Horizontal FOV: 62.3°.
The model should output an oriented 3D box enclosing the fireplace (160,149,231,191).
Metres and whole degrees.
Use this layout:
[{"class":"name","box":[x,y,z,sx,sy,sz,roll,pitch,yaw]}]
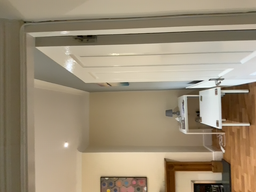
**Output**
[{"class":"fireplace","box":[1.230,1.830,4.000,0.640,1.130,1.480,39,-130,-86]}]
